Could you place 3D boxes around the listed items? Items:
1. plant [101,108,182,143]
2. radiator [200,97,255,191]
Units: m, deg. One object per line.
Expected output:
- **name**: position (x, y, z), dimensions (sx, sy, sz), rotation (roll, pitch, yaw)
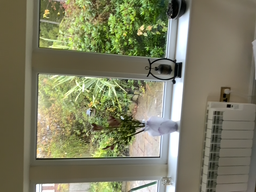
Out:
- **plant**: position (0.100, 0.270, 2.020), dimensions (0.430, 0.670, 0.250), rotation (-177, 90, -77)
- **radiator**: position (0.970, 0.540, 1.890), dimensions (0.150, 0.570, 1.030), rotation (-159, 72, -77)
